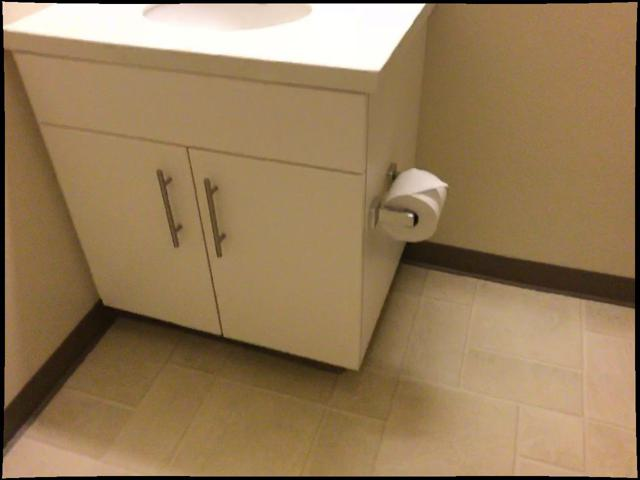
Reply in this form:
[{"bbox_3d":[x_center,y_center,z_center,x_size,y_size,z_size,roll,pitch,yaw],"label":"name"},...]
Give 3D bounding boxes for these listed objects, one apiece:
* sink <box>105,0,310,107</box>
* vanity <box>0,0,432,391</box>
[{"bbox_3d":[-0.229,-0.441,1.280,0.329,0.130,0.310,10,41,14],"label":"sink"},{"bbox_3d":[-0.190,-0.221,1.480,0.808,0.921,0.580,10,40,14],"label":"vanity"}]
